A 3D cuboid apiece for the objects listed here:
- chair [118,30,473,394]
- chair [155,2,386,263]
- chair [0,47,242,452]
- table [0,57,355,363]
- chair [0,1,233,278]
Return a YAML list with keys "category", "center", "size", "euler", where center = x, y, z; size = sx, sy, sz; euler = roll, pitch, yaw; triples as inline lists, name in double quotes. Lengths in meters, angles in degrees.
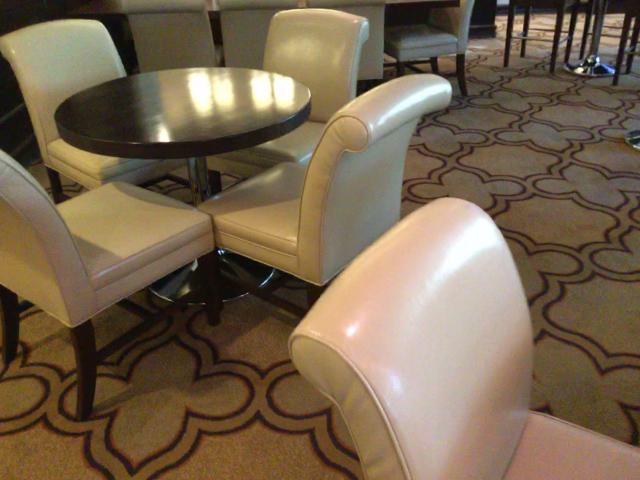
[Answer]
- category: "chair"
  center: [-0.080, -0.160, 2.020]
  size: [0.970, 0.920, 0.540]
  euler: [19, 37, 31]
- category: "chair"
  center: [-0.170, -0.540, 2.670]
  size: [0.650, 0.900, 0.760]
  euler: [16, 35, 28]
- category: "chair"
  center: [-0.770, -0.030, 1.850]
  size: [0.590, 0.930, 0.770]
  euler: [16, 35, 28]
- category: "table"
  center: [-0.470, -0.210, 2.270]
  size: [0.880, 0.710, 0.910]
  euler: [16, 35, 28]
- category: "chair"
  center: [-0.960, -0.500, 2.620]
  size: [0.840, 0.950, 0.610]
  euler: [21, 38, 34]
